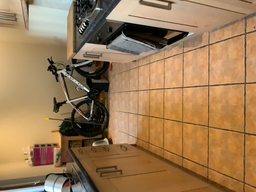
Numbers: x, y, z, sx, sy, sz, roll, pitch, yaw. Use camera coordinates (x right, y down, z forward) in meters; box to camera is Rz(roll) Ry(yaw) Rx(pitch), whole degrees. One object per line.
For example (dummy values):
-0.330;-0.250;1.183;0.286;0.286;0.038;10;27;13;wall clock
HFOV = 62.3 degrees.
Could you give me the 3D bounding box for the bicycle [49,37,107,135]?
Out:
-0.980;-0.170;4.100;0.550;0.980;1.700;-174;86;-66;bicycle
